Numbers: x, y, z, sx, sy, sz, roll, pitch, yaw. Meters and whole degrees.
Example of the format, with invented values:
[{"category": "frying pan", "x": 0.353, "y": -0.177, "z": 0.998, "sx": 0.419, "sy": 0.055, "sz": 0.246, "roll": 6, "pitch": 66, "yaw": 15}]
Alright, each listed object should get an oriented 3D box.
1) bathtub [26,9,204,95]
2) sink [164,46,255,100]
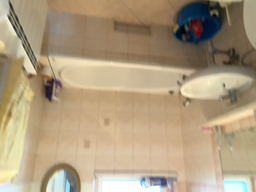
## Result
[{"category": "bathtub", "x": -0.120, "y": -0.400, "z": 2.280, "sx": 1.600, "sy": 0.500, "sz": 0.670, "roll": 3, "pitch": 161, "yaw": -10}, {"category": "sink", "x": 0.570, "y": -0.140, "z": 1.580, "sx": 0.440, "sy": 0.180, "sz": 0.500, "roll": 3, "pitch": 161, "yaw": -9}]
